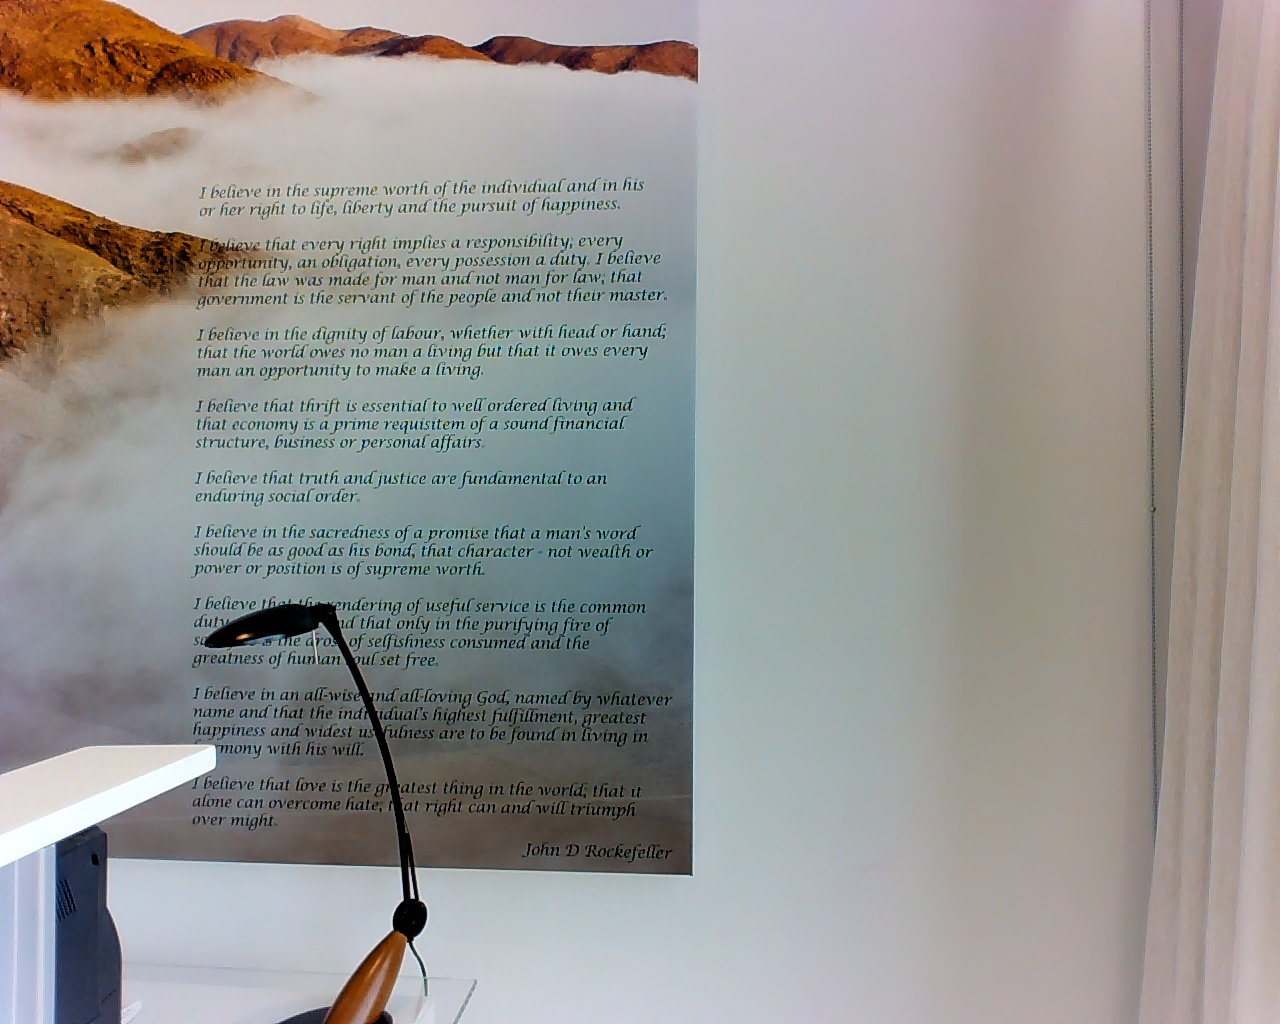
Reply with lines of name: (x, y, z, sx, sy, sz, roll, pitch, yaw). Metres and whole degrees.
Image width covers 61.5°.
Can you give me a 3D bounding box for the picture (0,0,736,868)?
picture: (-0.970, -0.240, 1.630, 2.219, 1.480, 0.060, 0, -1, 4)
